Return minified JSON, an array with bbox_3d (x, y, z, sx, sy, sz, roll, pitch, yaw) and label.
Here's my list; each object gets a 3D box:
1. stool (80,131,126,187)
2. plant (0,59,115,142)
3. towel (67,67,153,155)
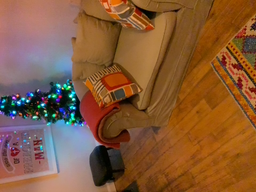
[{"bbox_3d":[-0.370,0.860,2.920,0.500,0.360,0.550,-55,45,42],"label":"stool"},{"bbox_3d":[-1.160,0.070,2.980,0.740,1.640,0.750,-57,44,41],"label":"plant"},{"bbox_3d":[-0.210,0.110,1.960,0.590,0.500,0.520,47,128,49],"label":"towel"}]
